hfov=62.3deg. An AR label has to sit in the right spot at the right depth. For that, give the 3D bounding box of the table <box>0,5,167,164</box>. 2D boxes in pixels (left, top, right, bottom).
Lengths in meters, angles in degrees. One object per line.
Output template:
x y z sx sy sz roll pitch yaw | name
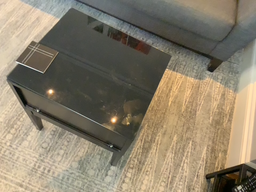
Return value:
-0.170 -0.010 0.960 0.460 0.480 0.380 25 61 2 | table
